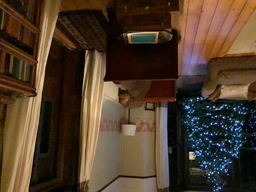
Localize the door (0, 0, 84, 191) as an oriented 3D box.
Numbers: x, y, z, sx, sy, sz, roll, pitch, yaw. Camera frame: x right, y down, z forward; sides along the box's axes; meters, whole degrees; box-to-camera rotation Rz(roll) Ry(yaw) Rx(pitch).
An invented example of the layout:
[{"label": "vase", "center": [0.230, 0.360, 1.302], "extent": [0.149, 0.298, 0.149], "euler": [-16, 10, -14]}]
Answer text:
[{"label": "door", "center": [-1.230, 0.230, 3.110], "extent": [0.420, 2.620, 1.530], "euler": [0, 170, 12]}]

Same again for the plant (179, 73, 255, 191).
[{"label": "plant", "center": [2.400, 1.060, 6.160], "extent": [1.620, 3.150, 1.390], "euler": [0, 170, 8]}]

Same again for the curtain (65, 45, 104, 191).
[{"label": "curtain", "center": [-0.770, 0.810, 3.790], "extent": [0.380, 3.430, 0.440], "euler": [-1, 170, 16]}]
